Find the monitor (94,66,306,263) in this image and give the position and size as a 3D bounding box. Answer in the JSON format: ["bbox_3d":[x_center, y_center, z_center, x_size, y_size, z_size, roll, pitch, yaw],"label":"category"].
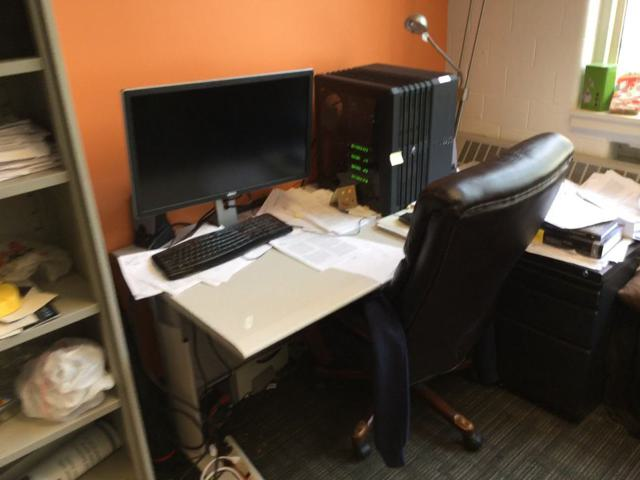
[{"bbox_3d":[-0.330,-0.260,1.780,0.590,0.470,0.190,-21,30,-40],"label":"monitor"}]

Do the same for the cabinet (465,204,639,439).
[{"bbox_3d":[0.810,0.260,2.030,0.350,0.630,0.410,-21,30,-40],"label":"cabinet"}]

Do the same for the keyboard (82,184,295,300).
[{"bbox_3d":[-0.400,-0.020,1.830,0.550,0.130,0.340,-21,30,-40],"label":"keyboard"}]
